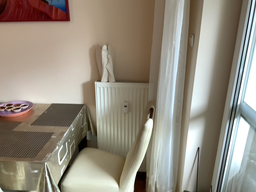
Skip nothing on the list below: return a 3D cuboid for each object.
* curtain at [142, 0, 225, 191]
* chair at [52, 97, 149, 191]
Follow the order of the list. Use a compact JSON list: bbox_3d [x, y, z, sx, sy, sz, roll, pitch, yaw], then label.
[{"bbox_3d":[0.340,-0.320,1.490,0.380,2.550,0.540,2,20,4],"label":"curtain"},{"bbox_3d":[-0.160,0.530,1.670,0.600,0.900,0.480,3,20,5],"label":"chair"}]
